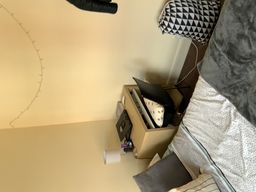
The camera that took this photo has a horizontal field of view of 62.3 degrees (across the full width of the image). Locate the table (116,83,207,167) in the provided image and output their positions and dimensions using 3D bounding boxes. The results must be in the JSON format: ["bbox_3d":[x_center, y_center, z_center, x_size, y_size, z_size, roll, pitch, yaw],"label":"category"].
[{"bbox_3d":[0.340,0.310,2.620,0.830,0.720,0.550,-115,29,-49],"label":"table"}]

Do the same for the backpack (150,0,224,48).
[{"bbox_3d":[0.570,-0.740,2.140,0.370,0.520,0.350,-114,28,-47],"label":"backpack"}]
